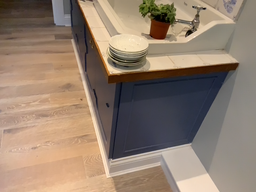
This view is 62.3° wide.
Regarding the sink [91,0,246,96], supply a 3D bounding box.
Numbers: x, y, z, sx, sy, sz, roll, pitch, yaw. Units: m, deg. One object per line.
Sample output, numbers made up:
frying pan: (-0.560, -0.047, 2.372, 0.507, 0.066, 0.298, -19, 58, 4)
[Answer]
sink: (0.110, -0.360, 1.090, 0.480, 0.260, 0.730, -6, 43, -18)
